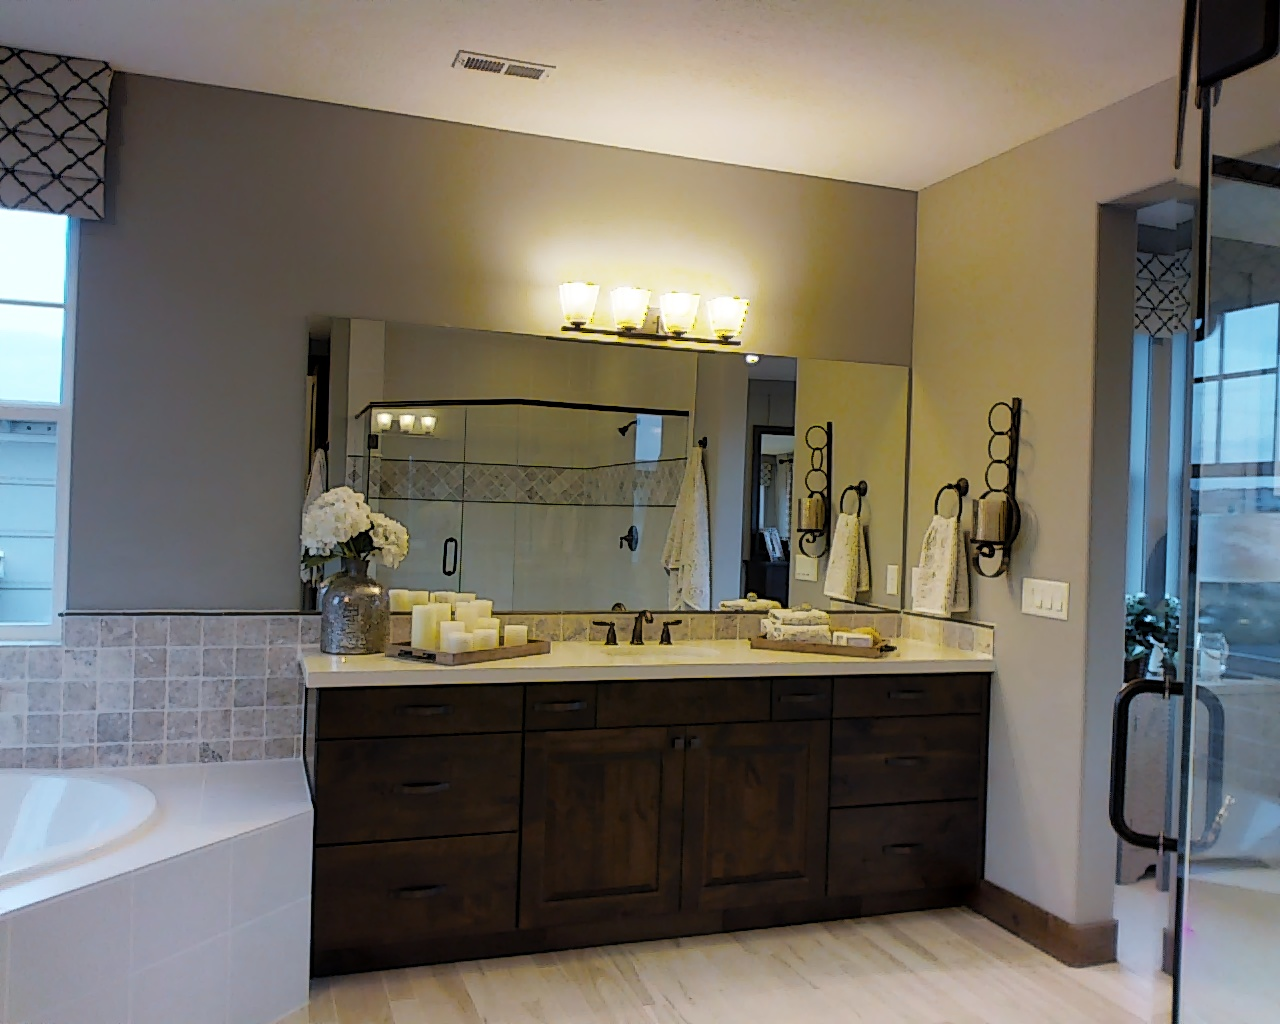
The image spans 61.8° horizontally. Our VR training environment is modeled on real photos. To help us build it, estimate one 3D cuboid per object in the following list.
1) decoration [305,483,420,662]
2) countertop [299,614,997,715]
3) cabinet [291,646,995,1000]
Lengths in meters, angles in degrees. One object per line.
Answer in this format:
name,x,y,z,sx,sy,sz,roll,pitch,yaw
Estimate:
decoration,-0.900,0.190,3.460,0.320,0.550,0.240,2,0,-20
countertop,0.070,0.490,3.660,2.330,0.220,0.570,2,0,-20
cabinet,0.060,0.950,3.640,2.330,0.890,0.530,2,0,-20
